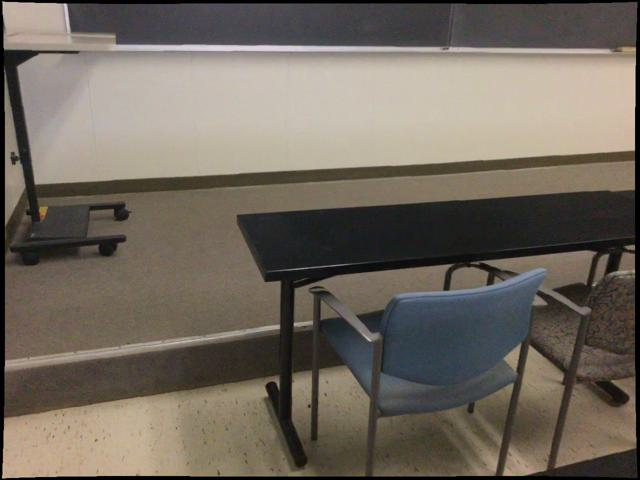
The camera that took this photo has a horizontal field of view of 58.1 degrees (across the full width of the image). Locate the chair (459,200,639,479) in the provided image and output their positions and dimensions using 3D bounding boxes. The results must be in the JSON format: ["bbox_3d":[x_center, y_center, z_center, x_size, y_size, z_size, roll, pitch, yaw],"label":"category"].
[{"bbox_3d":[0.878,0.341,1.940,0.599,0.772,0.480,-10,22,-18],"label":"chair"}]

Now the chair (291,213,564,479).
[{"bbox_3d":[0.289,0.381,1.790,0.579,0.732,0.550,-9,22,-18],"label":"chair"}]
